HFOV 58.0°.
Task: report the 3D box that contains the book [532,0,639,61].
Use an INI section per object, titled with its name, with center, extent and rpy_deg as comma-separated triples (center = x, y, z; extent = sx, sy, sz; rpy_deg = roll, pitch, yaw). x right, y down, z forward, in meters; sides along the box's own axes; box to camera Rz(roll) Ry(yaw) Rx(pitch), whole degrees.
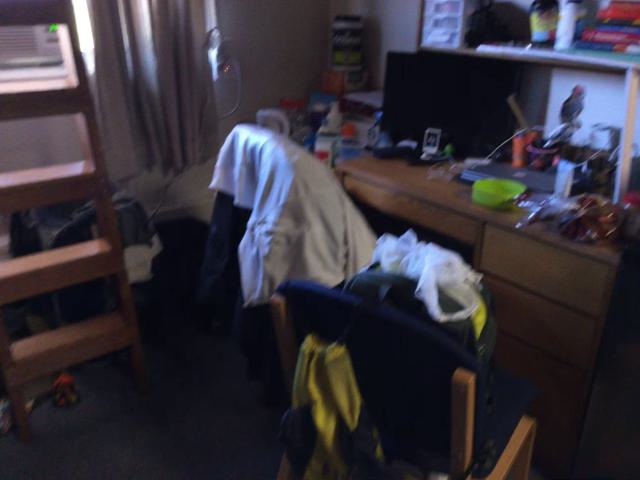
[book]
center = 0.890, -0.680, 1.790
extent = 0.250, 0.230, 0.340
rpy_deg = -15, 23, -35
